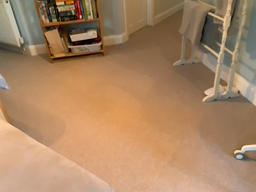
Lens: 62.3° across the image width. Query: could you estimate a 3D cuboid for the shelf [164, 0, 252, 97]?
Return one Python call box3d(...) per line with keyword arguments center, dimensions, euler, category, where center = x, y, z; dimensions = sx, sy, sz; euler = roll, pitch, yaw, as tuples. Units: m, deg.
box3d(center=(0.620, -0.620, 1.900), dimensions=(0.240, 0.920, 0.850), euler=(-12, 34, -11), category="shelf")
